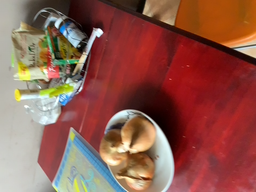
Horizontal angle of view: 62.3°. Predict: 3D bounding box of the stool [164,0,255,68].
[{"bbox_3d":[0.420,-0.290,0.790,0.290,0.450,0.280,35,116,33],"label":"stool"}]
